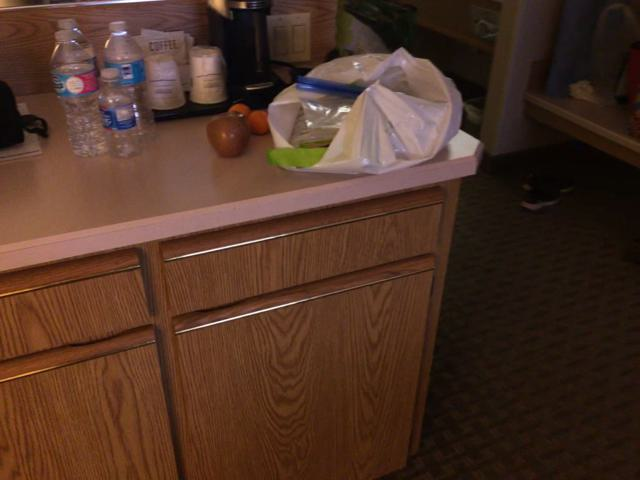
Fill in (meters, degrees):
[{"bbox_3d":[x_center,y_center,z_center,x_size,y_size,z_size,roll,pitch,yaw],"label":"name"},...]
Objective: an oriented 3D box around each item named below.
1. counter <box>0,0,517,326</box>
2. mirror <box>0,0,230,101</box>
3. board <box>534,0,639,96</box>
[{"bbox_3d":[-0.580,-0.170,0.920,1.620,0.320,0.660,-17,34,-17],"label":"counter"},{"bbox_3d":[-0.650,-0.400,1.150,0.910,0.210,0.120,-17,34,-17],"label":"mirror"},{"bbox_3d":[1.180,-1.100,2.380,0.460,0.900,0.180,-17,34,-17],"label":"board"}]
